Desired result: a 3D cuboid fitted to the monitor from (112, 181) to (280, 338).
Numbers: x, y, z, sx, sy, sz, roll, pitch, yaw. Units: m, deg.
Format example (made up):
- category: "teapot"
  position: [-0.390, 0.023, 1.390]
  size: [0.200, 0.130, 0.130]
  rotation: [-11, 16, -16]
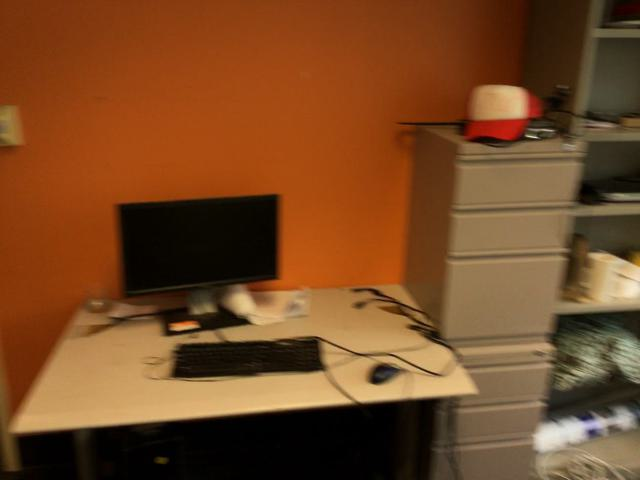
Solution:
- category: "monitor"
  position: [-0.390, 0.050, 1.890]
  size: [0.480, 0.420, 0.250]
  rotation: [-4, 18, -11]
